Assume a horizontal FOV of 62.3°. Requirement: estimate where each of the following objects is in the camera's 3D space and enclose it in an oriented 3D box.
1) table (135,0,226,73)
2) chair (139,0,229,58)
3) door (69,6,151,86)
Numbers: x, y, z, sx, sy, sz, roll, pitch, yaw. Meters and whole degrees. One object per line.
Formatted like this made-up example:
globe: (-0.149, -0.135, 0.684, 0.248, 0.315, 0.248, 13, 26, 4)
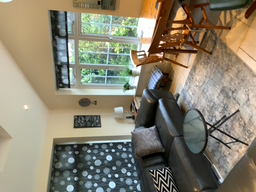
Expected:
table: (0.680, -1.330, 2.830, 0.960, 0.740, 1.790, -104, 19, -48)
chair: (0.650, -0.890, 2.670, 0.480, 0.850, 0.600, 108, 158, -55)
door: (-0.370, -0.820, 3.880, 0.160, 1.320, 1.440, -105, 19, -49)
